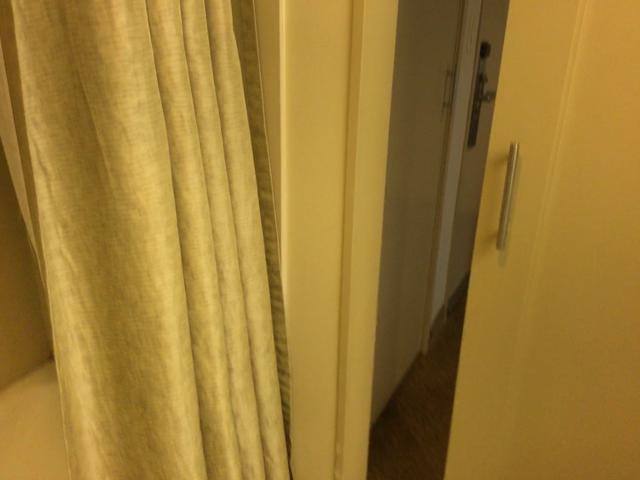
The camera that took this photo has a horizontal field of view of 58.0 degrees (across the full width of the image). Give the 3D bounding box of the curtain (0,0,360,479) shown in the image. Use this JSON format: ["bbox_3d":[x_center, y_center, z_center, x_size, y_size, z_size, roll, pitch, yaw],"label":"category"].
[{"bbox_3d":[-0.180,0.000,0.880,0.250,2.040,0.560,13,28,27],"label":"curtain"}]
